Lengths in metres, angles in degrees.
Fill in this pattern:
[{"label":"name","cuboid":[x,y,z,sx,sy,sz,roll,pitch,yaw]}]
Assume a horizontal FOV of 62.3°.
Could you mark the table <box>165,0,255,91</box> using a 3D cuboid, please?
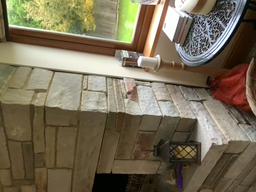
[{"label":"table","cuboid":[0.730,-0.460,1.200,0.640,0.720,0.630,-104,23,-55]}]
